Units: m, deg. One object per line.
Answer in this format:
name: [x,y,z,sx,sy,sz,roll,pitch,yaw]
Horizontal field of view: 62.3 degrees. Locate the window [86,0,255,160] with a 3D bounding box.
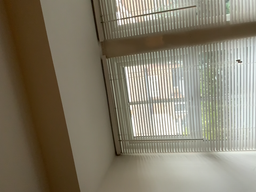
window: [0.510,-0.420,1.620,0.080,1.600,1.960,-52,-44,-72]
